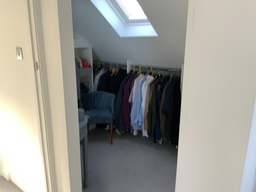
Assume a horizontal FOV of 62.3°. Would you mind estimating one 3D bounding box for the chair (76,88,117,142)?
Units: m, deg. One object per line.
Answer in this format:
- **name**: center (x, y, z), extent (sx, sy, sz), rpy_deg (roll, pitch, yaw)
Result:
- **chair**: center (-0.450, 0.270, 3.220), extent (0.550, 0.660, 0.530), rpy_deg (0, 15, -4)
